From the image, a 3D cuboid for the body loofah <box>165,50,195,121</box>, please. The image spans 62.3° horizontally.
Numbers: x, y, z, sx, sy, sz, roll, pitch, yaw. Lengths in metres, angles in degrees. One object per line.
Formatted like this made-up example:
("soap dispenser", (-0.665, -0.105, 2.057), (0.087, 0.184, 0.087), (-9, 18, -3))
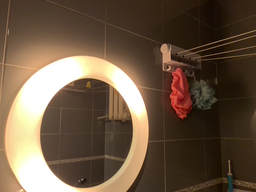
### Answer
("body loofah", (0.280, -0.050, 1.150), (0.160, 0.360, 0.060), (6, -10, -33))
